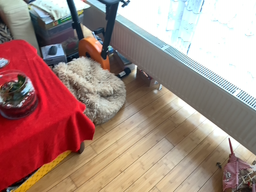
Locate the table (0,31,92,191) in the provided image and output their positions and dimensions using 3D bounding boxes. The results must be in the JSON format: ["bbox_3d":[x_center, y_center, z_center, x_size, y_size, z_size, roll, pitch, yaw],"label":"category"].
[{"bbox_3d":[-0.810,0.120,1.280,0.820,0.440,0.840,-30,57,-27],"label":"table"}]
